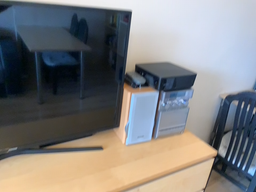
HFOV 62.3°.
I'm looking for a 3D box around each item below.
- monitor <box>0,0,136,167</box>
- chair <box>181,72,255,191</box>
[{"bbox_3d":[-0.440,-0.020,0.770,1.000,0.620,0.060,-8,27,-31],"label":"monitor"},{"bbox_3d":[0.940,0.400,1.710,0.620,1.010,0.530,-11,29,-35],"label":"chair"}]
